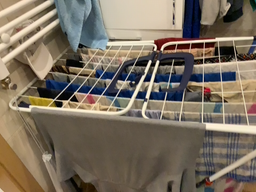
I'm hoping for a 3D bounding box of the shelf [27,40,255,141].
[{"bbox_3d":[0.060,-0.080,0.870,0.740,0.060,0.520,3,41,14],"label":"shelf"}]
